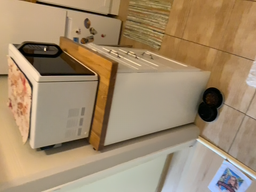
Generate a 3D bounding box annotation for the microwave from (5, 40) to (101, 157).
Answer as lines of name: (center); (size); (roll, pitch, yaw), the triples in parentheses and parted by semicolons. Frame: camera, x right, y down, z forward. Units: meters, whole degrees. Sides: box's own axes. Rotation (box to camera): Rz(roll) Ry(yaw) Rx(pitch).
microwave: (-0.450, -0.030, 1.170); (0.540, 0.300, 0.410); (33, 119, 43)
